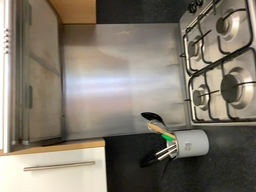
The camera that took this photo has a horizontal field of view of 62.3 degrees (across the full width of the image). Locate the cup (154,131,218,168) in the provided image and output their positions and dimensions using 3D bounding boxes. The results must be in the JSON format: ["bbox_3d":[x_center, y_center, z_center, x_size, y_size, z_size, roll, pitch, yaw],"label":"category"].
[{"bbox_3d":[0.260,0.240,0.990,0.170,0.230,0.130,137,129,-78],"label":"cup"}]
